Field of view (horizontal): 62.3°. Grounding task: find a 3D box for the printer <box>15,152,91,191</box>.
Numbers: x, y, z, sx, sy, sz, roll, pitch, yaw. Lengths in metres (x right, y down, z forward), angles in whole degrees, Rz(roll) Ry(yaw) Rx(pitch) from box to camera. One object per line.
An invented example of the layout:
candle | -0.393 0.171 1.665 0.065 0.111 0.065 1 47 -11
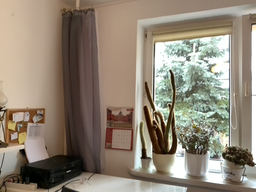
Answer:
printer | -0.630 0.640 1.860 0.380 0.160 0.510 0 -3 25

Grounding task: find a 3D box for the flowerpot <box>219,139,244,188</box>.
flowerpot | 0.890 0.560 1.820 0.180 0.320 0.280 0 -4 29

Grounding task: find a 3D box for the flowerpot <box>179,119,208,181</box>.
flowerpot | 0.610 0.470 1.950 0.230 0.490 0.280 0 -3 23
